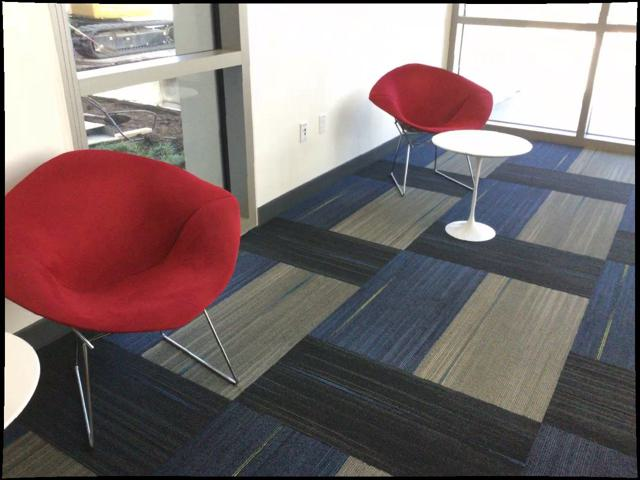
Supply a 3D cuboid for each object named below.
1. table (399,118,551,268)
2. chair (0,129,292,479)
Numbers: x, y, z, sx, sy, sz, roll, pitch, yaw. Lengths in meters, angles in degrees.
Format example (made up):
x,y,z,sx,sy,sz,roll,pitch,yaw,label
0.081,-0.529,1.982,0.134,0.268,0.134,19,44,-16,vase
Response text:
x,y,z,sx,sy,sz,roll,pitch,yaw,label
0.828,-0.281,3.090,0.559,0.541,0.590,17,30,29,table
-0.678,0.140,1.960,0.809,0.732,0.829,23,34,37,chair
